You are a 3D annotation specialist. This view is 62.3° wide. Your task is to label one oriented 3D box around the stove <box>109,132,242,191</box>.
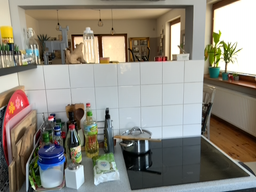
[{"bbox_3d":[0.210,0.350,1.250,0.610,0.030,0.540,-3,12,-8],"label":"stove"}]
